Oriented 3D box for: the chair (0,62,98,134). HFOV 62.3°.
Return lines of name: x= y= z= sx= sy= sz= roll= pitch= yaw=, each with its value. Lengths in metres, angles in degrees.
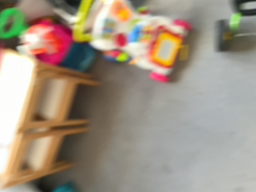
chair: x=-0.470 y=0.010 z=1.300 sx=0.350 sy=0.410 sz=0.330 roll=10 pitch=91 yaw=27
